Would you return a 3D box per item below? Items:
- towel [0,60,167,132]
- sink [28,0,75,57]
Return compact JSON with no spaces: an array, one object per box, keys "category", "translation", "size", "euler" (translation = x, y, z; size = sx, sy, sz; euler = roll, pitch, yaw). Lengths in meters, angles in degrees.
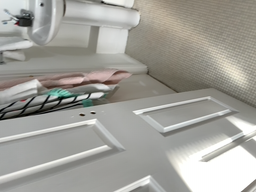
[{"category":"towel","translation":[-0.470,-0.030,0.950],"size":[0.420,1.430,0.130],"euler":[35,122,43]},{"category":"sink","translation":[-0.570,-0.630,1.550],"size":[0.390,0.190,0.580],"euler":[37,124,42]}]
